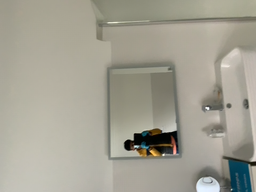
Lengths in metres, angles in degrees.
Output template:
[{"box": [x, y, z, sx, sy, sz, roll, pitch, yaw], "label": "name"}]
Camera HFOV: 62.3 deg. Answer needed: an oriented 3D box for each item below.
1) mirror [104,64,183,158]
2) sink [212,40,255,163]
[{"box": [0.120, 0.120, 1.870, 0.050, 0.650, 0.800, 82, -174, -79], "label": "mirror"}, {"box": [0.860, 0.060, 1.580, 0.490, 0.200, 0.790, 82, -174, -78], "label": "sink"}]
